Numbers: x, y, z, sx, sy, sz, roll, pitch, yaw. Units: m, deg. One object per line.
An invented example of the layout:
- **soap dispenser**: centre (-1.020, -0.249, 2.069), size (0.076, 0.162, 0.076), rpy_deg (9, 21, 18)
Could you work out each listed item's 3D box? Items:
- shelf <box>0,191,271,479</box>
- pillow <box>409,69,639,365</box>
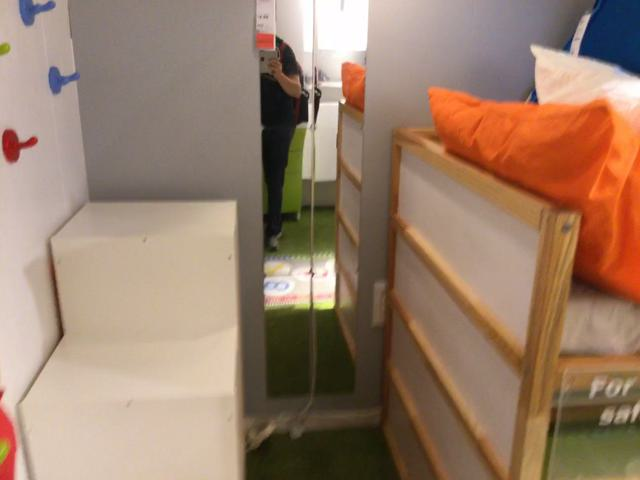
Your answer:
- **shelf**: centre (-0.400, 0.460, 1.460), size (0.490, 0.920, 1.070), rpy_deg (0, 20, -8)
- **pillow**: centre (0.500, -0.120, 1.210), size (0.400, 0.400, 0.750), rpy_deg (0, 20, -8)
